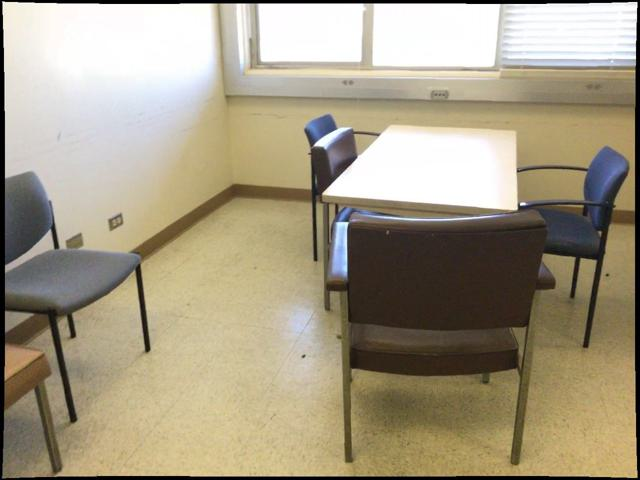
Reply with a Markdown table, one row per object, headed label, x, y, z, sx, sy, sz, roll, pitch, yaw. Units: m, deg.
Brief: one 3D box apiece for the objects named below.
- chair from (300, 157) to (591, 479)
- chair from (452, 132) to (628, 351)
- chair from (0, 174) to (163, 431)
| label | x | y | z | sx | sy | sz | roll | pitch | yaw |
| --- | --- | --- | --- | --- | --- | --- | --- | --- | --- |
| chair | 0.339 | 0.221 | 1.900 | 0.718 | 0.832 | 0.630 | 0 | 24 | 4 |
| chair | 0.948 | -0.020 | 2.610 | 0.589 | 0.792 | 0.530 | 6 | 25 | 16 |
| chair | -1.067 | 0.211 | 2.240 | 0.629 | 0.772 | 0.480 | 7 | 25 | 18 |
